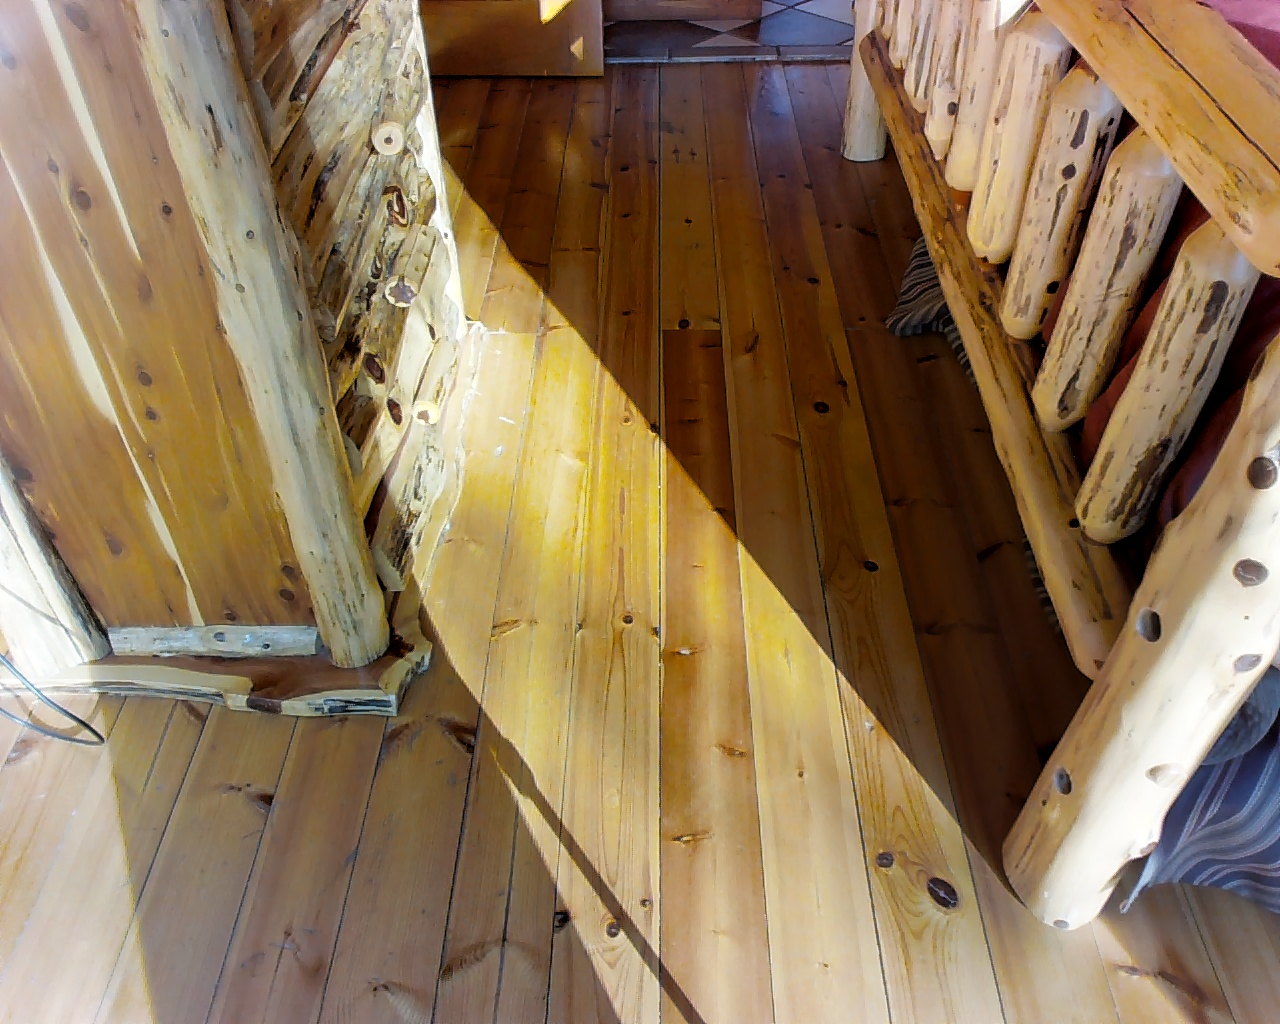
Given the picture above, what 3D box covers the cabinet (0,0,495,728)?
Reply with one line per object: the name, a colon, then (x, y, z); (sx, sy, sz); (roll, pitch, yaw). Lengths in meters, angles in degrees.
cabinet: (-0.610, -0.500, 1.480); (0.570, 1.320, 0.960); (-1, 42, 1)
